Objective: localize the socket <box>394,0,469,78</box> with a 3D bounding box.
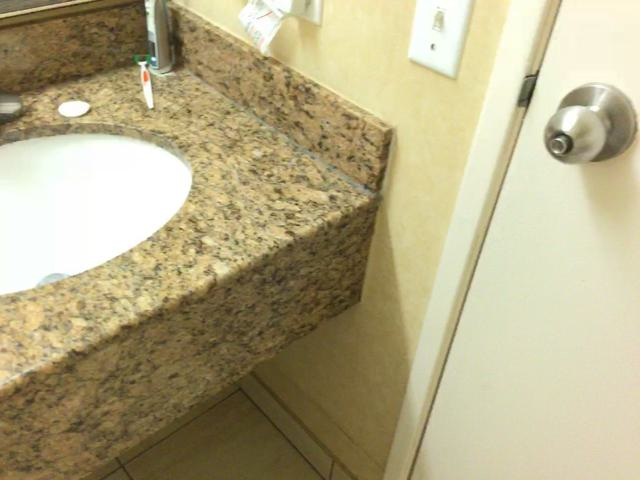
[{"bbox_3d":[0.120,-0.240,0.620,0.020,0.110,0.070,-27,48,-34],"label":"socket"}]
